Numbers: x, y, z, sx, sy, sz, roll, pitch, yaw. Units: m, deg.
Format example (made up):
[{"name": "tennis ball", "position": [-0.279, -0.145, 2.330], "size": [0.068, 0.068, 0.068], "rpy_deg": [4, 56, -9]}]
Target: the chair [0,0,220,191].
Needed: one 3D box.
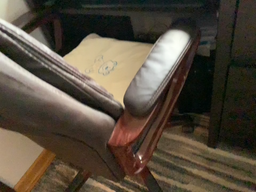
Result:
[{"name": "chair", "position": [-0.140, -0.090, 0.640], "size": [0.610, 1.110, 0.690], "rpy_deg": [16, 54, 28]}]
